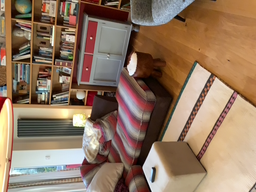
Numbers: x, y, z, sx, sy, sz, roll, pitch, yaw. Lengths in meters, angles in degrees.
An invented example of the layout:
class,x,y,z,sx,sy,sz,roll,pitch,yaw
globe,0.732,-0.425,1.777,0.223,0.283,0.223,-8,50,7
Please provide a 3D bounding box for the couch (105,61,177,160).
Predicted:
class,x,y,z,sx,sy,sz,roll,pitch,yaw
couch,0.100,0.170,3.060,1.040,0.440,0.970,-120,40,-52

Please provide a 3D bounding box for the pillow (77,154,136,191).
class,x,y,z,sx,sy,sz,roll,pitch,yaw
pillow,-0.300,1.200,3.080,0.580,0.540,0.360,-24,94,30
